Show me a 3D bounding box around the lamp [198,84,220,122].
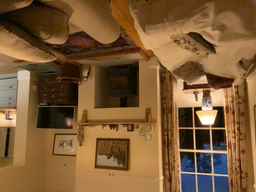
[{"bbox_3d":[1.430,0.140,3.780,0.320,0.630,0.420,-2,173,18],"label":"lamp"}]

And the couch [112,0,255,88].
[{"bbox_3d":[0.780,-0.620,2.620,1.260,0.680,2.060,-2,173,18],"label":"couch"}]

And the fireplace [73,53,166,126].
[{"bbox_3d":[-0.170,-0.050,4.540,1.780,1.330,0.800,-2,173,21],"label":"fireplace"}]
